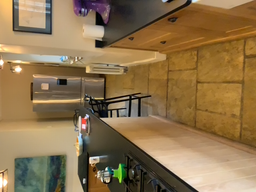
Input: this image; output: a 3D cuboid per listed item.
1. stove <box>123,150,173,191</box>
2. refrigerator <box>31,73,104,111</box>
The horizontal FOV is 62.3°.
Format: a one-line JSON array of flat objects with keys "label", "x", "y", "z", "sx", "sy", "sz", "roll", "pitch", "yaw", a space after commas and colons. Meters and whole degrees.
[{"label": "stove", "x": 0.110, "y": 0.680, "z": 1.340, "sx": 0.720, "sy": 0.010, "sz": 0.450, "roll": -165, "pitch": 77, "yaw": -67}, {"label": "refrigerator", "x": -1.640, "y": -0.120, "z": 5.800, "sx": 0.780, "sy": 1.790, "sz": 0.900, "roll": -168, "pitch": 79, "yaw": -67}]
